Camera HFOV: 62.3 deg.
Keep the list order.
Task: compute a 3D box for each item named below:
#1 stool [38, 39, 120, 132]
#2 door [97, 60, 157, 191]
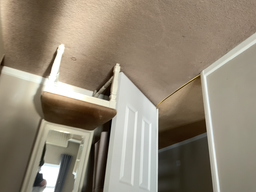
[{"bbox_3d":[-0.380,-0.050,1.650,0.480,0.470,0.440,14,150,-17],"label":"stool"},{"bbox_3d":[0.030,0.840,1.600,0.080,2.150,0.840,-11,148,26],"label":"door"}]
